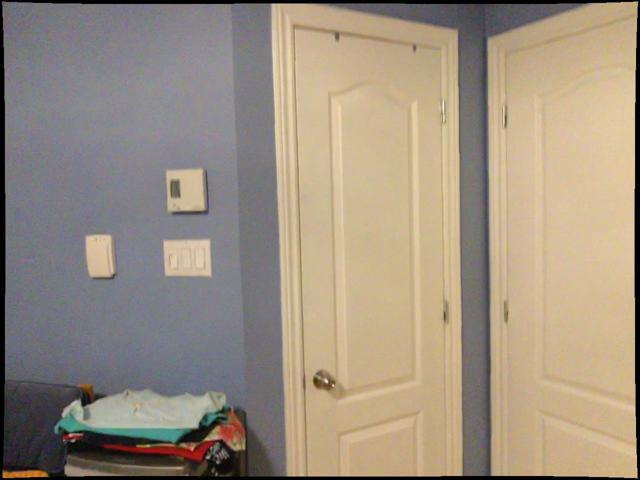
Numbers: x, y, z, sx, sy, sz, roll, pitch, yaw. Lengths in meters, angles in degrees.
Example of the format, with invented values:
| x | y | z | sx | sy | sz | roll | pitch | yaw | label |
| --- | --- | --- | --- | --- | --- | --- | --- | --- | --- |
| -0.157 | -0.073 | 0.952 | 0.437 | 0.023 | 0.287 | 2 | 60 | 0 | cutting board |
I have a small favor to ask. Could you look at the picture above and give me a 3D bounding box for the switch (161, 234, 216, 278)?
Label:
| x | y | z | sx | sy | sz | roll | pitch | yaw | label |
| --- | --- | --- | --- | --- | --- | --- | --- | --- | --- |
| -0.410 | 0.050 | 1.800 | 0.170 | 0.130 | 0.030 | -2 | 3 | 17 | switch |
